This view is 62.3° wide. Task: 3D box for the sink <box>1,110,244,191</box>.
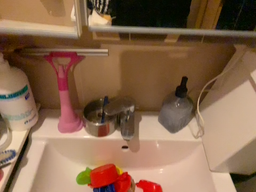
[{"bbox_3d":[-0.010,0.250,0.650,0.610,0.170,0.390,2,41,-2],"label":"sink"}]
